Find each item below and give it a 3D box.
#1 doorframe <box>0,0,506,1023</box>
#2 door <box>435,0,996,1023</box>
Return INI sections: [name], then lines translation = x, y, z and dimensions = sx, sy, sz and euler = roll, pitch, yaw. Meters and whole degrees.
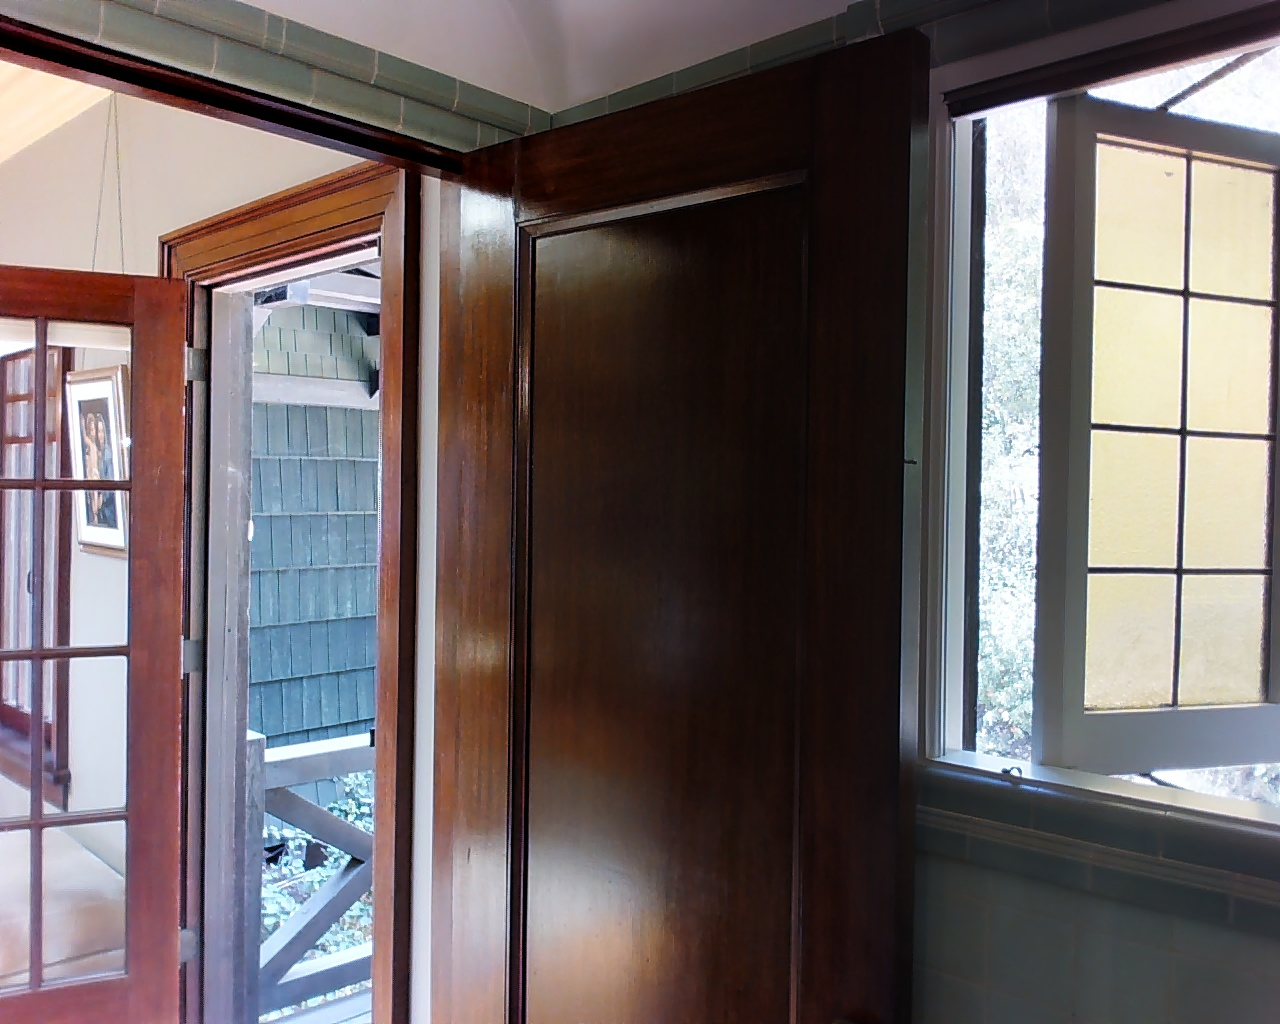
[doorframe]
translation = -0.600, 0.430, 1.620
dimensions = 0.130, 2.240, 0.860
euler = 2, 1, 44
[door]
translation = 0.030, 0.420, 1.510
dimensions = 0.890, 2.290, 0.060
euler = 1, 1, 40
